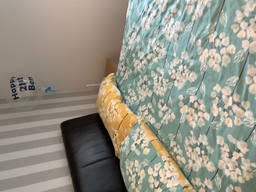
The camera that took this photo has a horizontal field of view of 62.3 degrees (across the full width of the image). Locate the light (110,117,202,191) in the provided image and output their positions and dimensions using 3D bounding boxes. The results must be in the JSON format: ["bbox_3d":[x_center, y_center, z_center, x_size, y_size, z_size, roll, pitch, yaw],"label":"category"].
[{"bbox_3d":[0.130,0.520,1.250,0.690,0.220,0.430,-126,37,-48],"label":"light"}]

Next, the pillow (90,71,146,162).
[{"bbox_3d":[-0.120,0.130,1.740,0.660,0.190,0.390,-124,36,-46],"label":"pillow"}]
